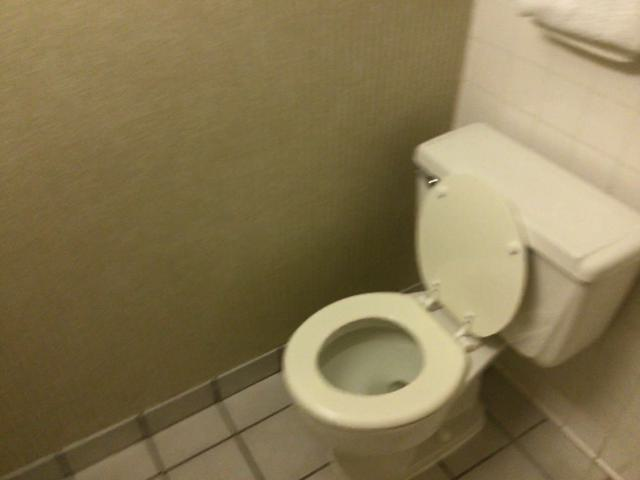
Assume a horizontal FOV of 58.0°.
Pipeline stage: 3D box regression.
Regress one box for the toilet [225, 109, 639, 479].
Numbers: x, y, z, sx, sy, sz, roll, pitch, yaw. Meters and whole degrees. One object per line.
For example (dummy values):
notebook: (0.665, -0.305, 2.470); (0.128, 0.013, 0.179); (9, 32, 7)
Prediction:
toilet: (0.250, 0.220, 1.310); (0.680, 0.740, 0.530); (-21, 41, -25)
